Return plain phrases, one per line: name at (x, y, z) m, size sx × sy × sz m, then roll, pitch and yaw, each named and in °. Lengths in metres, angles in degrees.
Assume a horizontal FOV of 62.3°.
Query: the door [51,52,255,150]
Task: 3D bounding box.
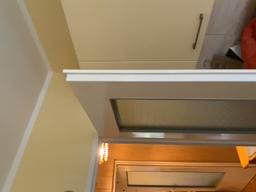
door at (0.840, 0.120, 1.060) m, size 0.940 × 2.140 × 0.080 m, roll 85°, pitch -174°, yaw -63°
